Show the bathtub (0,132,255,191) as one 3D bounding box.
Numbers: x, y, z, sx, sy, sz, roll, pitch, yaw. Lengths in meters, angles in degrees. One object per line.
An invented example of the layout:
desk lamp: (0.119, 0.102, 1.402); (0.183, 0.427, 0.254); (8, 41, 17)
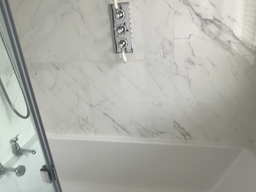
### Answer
bathtub: (-0.010, 0.720, 1.370); (1.610, 0.580, 0.730); (0, 25, 12)
